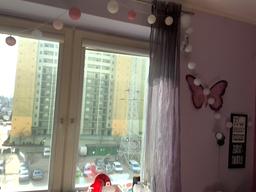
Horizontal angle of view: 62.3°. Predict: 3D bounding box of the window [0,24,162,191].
[{"bbox_3d":[-0.510,0.300,1.810,1.650,1.590,0.160,4,-2,-22],"label":"window"}]
